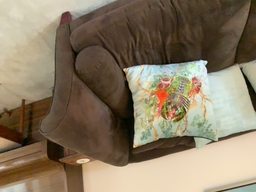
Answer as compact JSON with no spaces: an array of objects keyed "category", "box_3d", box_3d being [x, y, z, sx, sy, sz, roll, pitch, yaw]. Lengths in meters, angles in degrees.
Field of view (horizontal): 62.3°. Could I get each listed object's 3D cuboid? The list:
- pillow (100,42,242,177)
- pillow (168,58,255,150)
[{"category":"pillow","box_3d":[0.240,0.060,1.390,0.600,0.560,0.390,-28,146,-19]},{"category":"pillow","box_3d":[0.700,0.010,1.530,0.550,0.550,0.260,-10,141,-33]}]
